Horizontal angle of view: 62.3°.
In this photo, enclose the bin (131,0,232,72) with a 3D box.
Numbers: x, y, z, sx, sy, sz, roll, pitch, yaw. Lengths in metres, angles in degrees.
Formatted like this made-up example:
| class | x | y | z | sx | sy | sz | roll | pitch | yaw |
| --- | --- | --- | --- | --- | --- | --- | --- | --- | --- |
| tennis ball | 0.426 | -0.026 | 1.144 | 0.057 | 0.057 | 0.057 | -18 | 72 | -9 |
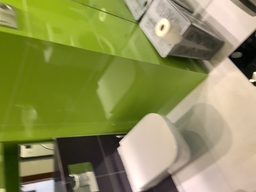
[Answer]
| class | x | y | z | sx | sy | sz | roll | pitch | yaw |
| --- | --- | --- | --- | --- | --- | --- | --- | --- | --- |
| bin | 0.380 | -0.440 | 1.500 | 0.270 | 0.580 | 0.380 | -48 | 52 | 38 |
